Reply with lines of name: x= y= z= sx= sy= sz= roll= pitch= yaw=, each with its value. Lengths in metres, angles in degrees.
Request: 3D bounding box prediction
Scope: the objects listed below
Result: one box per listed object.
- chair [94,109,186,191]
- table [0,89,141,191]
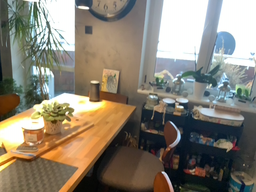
chair: x=0.100 y=0.600 z=1.690 sx=0.560 sy=0.790 sz=0.490 roll=10 pitch=18 yaw=15
table: x=-0.580 y=0.600 z=1.510 sx=0.820 sy=0.760 sz=1.900 roll=10 pitch=18 yaw=15
